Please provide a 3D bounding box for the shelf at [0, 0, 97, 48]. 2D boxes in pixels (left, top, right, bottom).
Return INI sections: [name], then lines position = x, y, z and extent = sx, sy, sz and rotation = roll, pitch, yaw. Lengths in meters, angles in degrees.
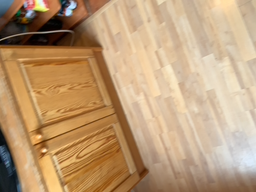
[shelf]
position = -0.740, -0.590, 1.400
extent = 0.590, 0.850, 0.300
rotation = -21, 88, 34
